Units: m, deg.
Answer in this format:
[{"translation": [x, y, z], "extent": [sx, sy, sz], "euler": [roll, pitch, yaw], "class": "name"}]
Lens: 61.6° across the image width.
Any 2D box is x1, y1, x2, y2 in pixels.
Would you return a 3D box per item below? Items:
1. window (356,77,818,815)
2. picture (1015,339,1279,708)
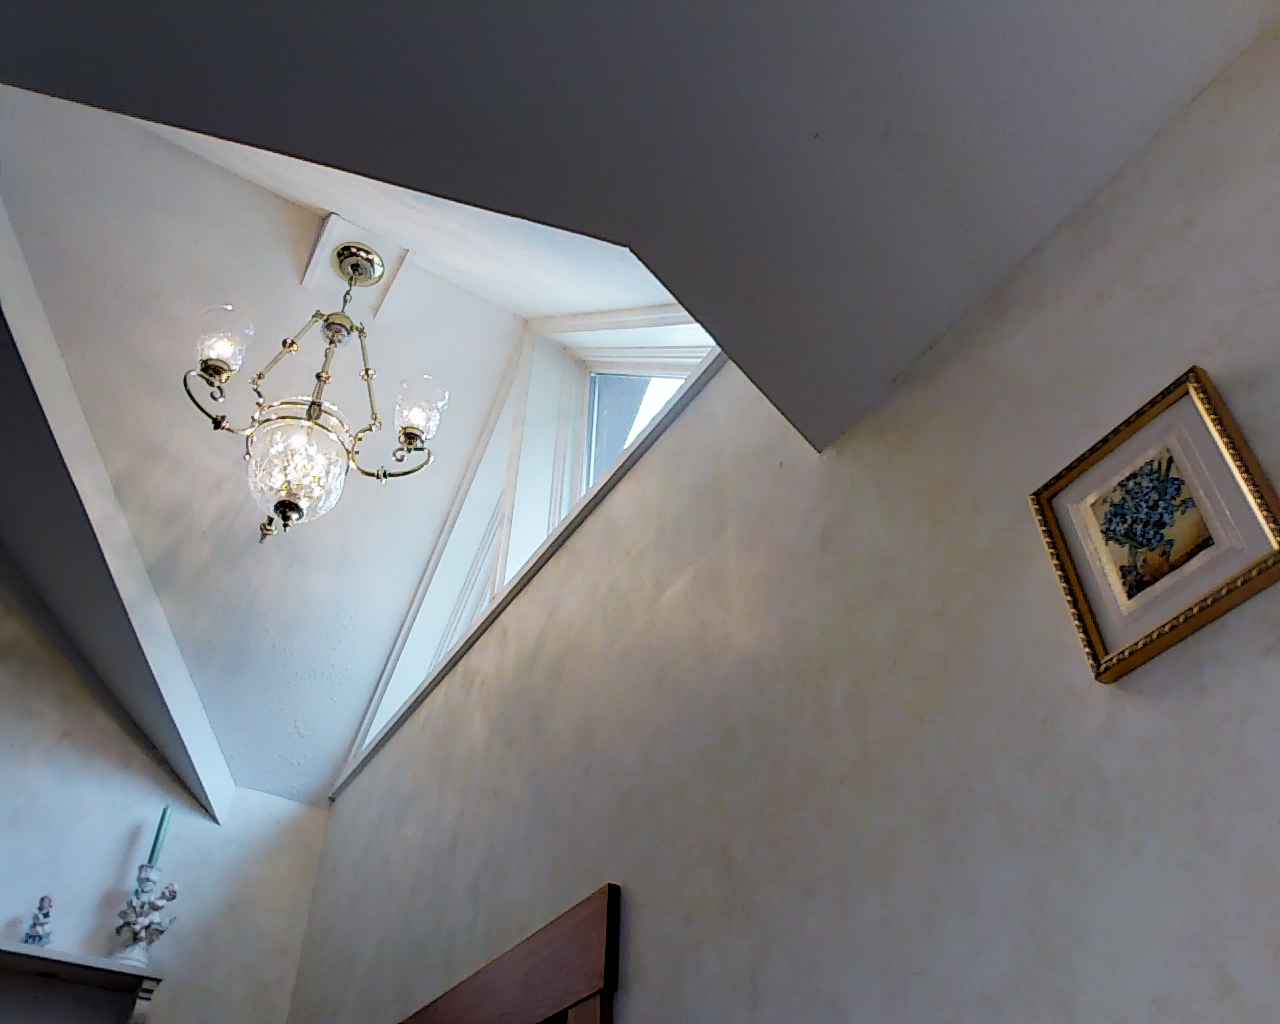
[{"translation": [-0.240, -0.060, 2.740], "extent": [0.130, 0.980, 1.900], "euler": [22, -46, -23], "class": "window"}, {"translation": [0.440, 0.010, 0.920], "extent": [0.020, 0.240, 0.230], "euler": [22, -46, -23], "class": "picture"}]
